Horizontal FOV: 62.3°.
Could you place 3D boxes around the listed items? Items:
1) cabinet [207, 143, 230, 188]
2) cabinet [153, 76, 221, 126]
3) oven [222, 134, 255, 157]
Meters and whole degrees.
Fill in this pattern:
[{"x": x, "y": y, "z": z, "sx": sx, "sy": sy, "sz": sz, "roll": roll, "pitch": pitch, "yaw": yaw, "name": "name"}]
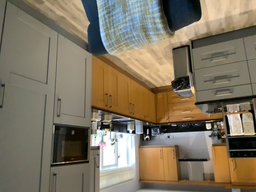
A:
[{"x": 1.890, "y": 1.420, "z": 4.420, "sx": 0.320, "sy": 0.850, "sz": 0.320, "roll": -8, "pitch": 165, "yaw": 26, "name": "cabinet"}, {"x": 1.330, "y": 0.160, "z": 4.840, "sx": 1.340, "sy": 0.910, "sz": 0.600, "roll": -8, "pitch": 165, "yaw": 26, "name": "cabinet"}, {"x": 2.230, "y": 0.980, "z": 4.200, "sx": 0.600, "sy": 0.400, "sz": 0.570, "roll": -8, "pitch": 165, "yaw": 26, "name": "oven"}]
